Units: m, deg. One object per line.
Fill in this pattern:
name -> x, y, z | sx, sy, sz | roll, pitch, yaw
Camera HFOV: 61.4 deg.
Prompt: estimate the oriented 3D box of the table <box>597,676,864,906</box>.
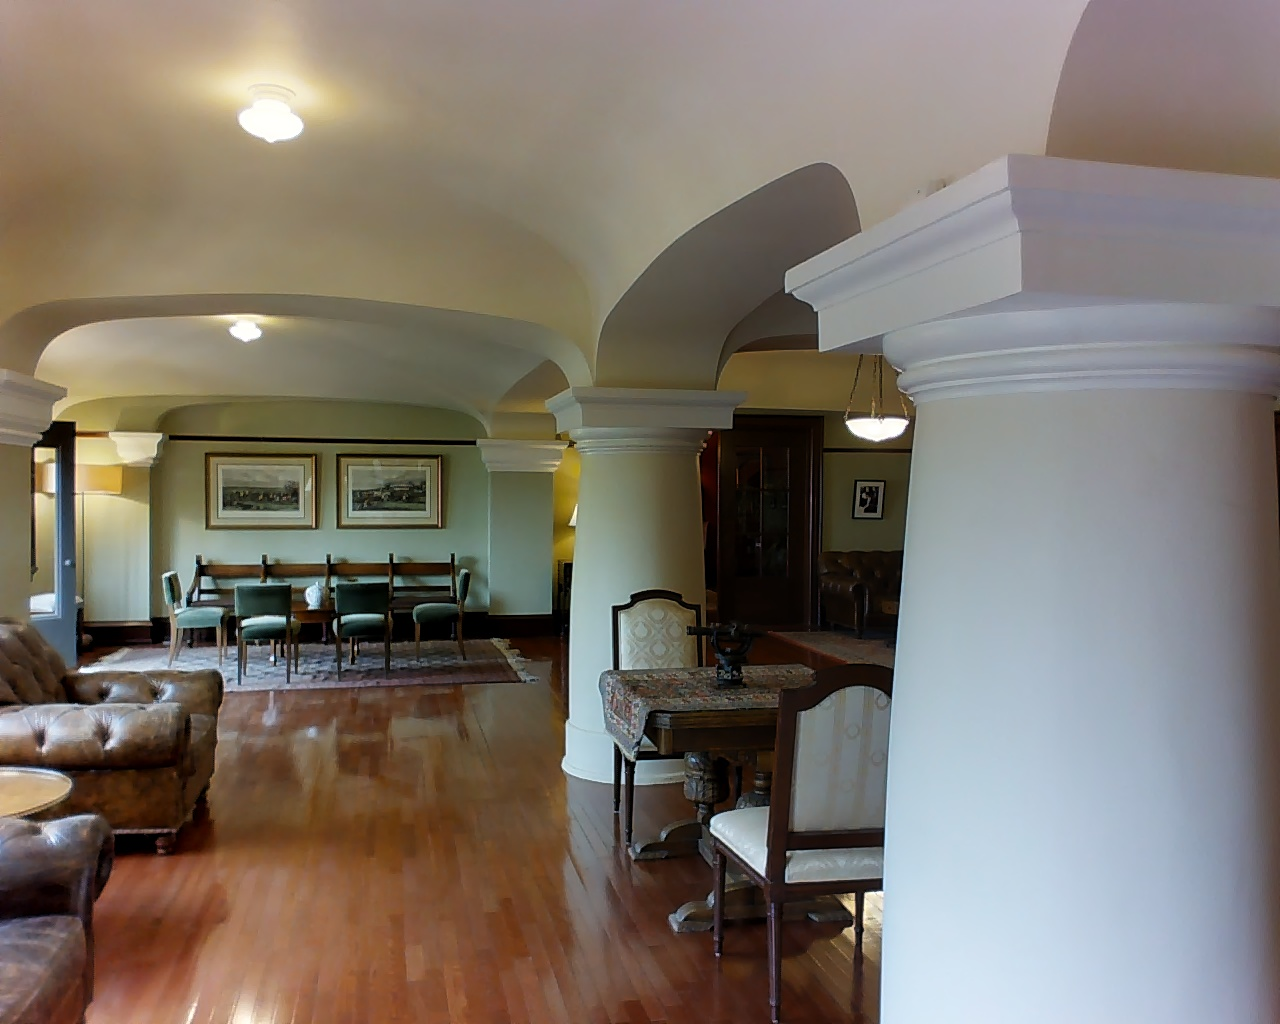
table -> 0.310, 1.050, 4.290 | 0.790, 0.600, 1.020 | 0, 1, -12
